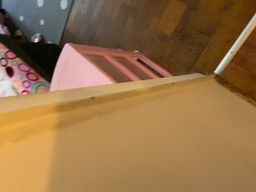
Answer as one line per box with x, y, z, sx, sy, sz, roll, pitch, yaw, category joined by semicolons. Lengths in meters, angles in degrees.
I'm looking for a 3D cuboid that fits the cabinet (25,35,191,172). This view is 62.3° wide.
-0.060;-0.020;0.910;0.430;0.510;0.260;37;116;25;cabinet
